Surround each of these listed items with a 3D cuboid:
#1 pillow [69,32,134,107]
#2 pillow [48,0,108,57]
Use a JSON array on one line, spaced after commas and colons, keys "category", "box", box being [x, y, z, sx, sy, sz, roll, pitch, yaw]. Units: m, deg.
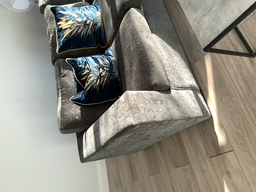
[{"category": "pillow", "box": [-0.230, -0.200, 1.700, 0.320, 0.330, 0.470, -46, 53, 48]}, {"category": "pillow", "box": [-0.460, -0.630, 1.920, 0.220, 0.430, 0.490, 118, 140, -59]}]
